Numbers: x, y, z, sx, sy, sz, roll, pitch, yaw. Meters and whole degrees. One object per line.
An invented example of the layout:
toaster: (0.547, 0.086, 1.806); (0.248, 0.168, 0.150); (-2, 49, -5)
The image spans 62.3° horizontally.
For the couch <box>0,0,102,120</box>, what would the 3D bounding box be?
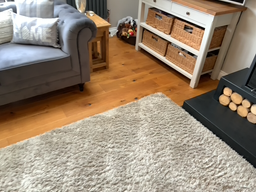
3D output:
couch: (-1.240, -0.400, 1.980); (1.720, 0.750, 1.000); (-18, 43, -27)

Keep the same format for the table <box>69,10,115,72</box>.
table: (-0.450, -0.700, 2.640); (0.350, 0.550, 0.510); (-17, 43, -26)

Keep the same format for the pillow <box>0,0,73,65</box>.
pillow: (-0.870, -0.680, 1.940); (0.470, 0.530, 0.350); (-28, 42, 12)
